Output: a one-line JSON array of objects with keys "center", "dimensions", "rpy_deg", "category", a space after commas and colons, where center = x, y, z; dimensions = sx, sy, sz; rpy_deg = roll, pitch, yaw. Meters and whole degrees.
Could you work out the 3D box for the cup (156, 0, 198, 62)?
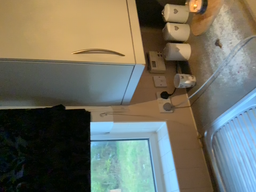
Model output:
[{"center": [0.300, -0.430, 1.370], "dimensions": [0.200, 0.120, 0.360], "rpy_deg": [111, 156, -56], "category": "cup"}]
